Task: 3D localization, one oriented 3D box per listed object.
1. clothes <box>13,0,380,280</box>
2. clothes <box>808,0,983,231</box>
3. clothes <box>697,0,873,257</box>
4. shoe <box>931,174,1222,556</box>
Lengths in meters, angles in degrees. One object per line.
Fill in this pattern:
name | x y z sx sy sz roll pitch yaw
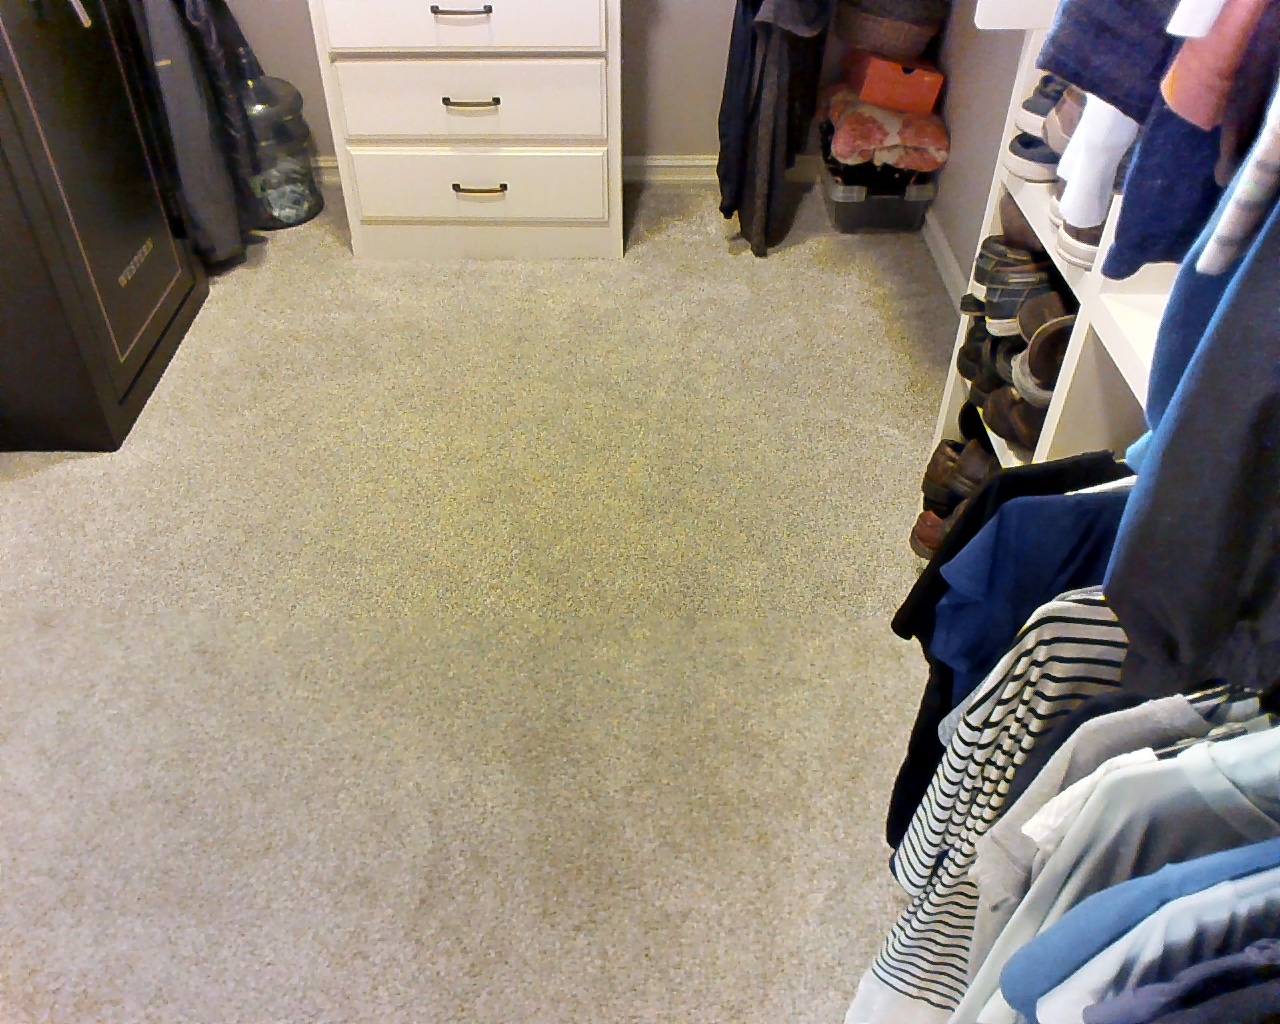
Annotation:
clothes | -1.120 -1.220 2.830 0.600 0.960 0.700 -1 41 -1
clothes | 0.690 -1.190 3.010 0.320 0.650 0.430 0 41 0
clothes | 0.410 -1.240 2.920 0.290 0.850 0.600 15 44 17
shoe | 0.640 -0.230 1.670 0.210 0.440 0.400 0 41 -1
